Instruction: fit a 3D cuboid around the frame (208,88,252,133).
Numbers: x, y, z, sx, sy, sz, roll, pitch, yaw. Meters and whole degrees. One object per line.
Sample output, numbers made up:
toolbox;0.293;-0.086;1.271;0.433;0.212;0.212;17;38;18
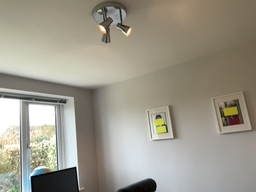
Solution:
frame;1.000;0.150;2.100;0.330;0.390;0.030;-13;-13;32

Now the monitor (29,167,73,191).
monitor;-0.790;0.990;2.220;0.050;0.440;0.500;-13;-19;33
